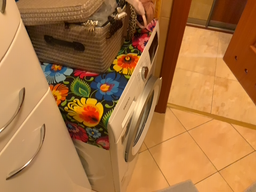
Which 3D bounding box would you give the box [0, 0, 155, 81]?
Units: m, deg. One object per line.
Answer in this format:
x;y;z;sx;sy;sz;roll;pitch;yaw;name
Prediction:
-0.190;-0.310;0.800;0.520;0.240;0.320;14;51;11;box
